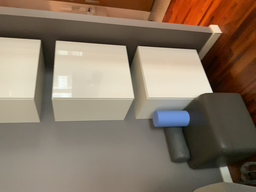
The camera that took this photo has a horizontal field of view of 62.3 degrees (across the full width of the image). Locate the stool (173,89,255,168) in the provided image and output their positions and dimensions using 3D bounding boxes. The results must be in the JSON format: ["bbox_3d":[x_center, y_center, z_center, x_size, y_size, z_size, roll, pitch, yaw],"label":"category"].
[{"bbox_3d":[0.760,0.300,1.890,0.530,0.430,0.520,114,153,-56],"label":"stool"}]
